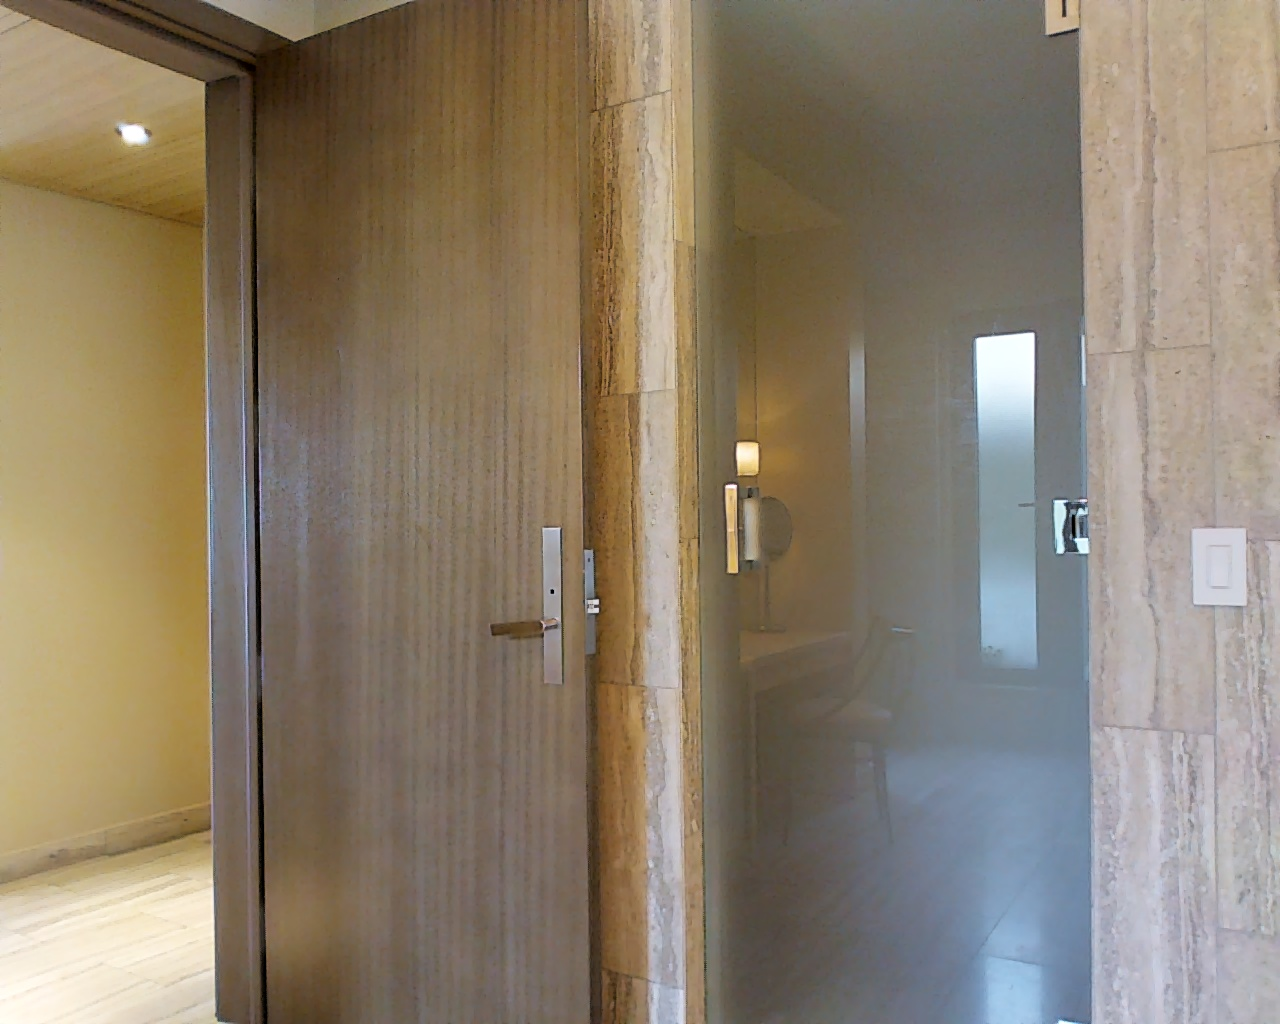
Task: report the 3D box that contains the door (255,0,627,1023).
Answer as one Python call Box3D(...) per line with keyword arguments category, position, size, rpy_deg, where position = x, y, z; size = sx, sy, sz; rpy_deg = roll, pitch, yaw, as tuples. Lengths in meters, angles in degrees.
Box3D(category="door", position=(-0.470, 0.050, 2.350), size=(0.950, 2.400, 0.080), rpy_deg=(-1, 0, 32))

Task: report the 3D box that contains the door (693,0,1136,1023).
Box3D(category="door", position=(0.500, 0.000, 2.100), size=(0.810, 2.470, 0.080), rpy_deg=(-1, 0, 32))
